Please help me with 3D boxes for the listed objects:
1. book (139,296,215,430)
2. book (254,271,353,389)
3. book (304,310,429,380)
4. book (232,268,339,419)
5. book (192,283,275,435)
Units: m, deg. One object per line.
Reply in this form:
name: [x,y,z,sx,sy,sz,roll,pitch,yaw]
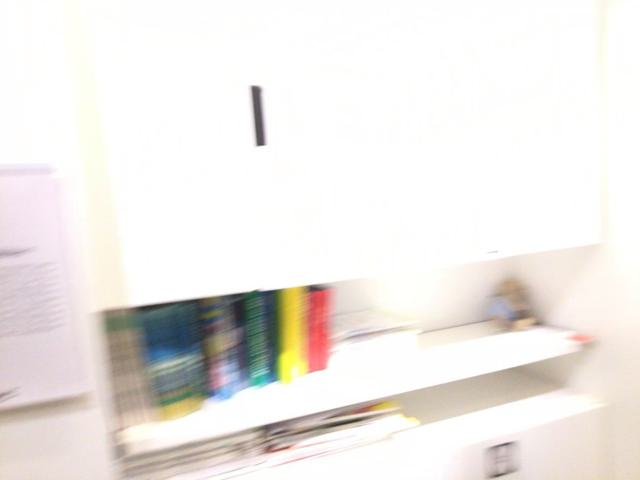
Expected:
book: [-0.280,0.230,1.120,0.110,0.210,0.140,-5,7,-21]
book: [-0.040,0.200,1.340,0.180,0.220,0.140,-5,7,-21]
book: [0.110,0.250,1.420,0.250,0.090,0.180,-5,7,-21]
book: [-0.080,0.200,1.210,0.140,0.240,0.250,-5,7,-21]
book: [-0.170,0.220,1.120,0.110,0.240,0.160,-5,7,-21]
